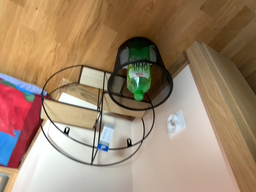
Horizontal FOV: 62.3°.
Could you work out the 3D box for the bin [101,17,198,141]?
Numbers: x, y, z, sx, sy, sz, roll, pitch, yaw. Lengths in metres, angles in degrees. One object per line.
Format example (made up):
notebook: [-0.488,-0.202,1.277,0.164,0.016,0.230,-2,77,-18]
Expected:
bin: [0.070,-0.080,0.860,0.230,0.400,0.230,29,126,-24]
